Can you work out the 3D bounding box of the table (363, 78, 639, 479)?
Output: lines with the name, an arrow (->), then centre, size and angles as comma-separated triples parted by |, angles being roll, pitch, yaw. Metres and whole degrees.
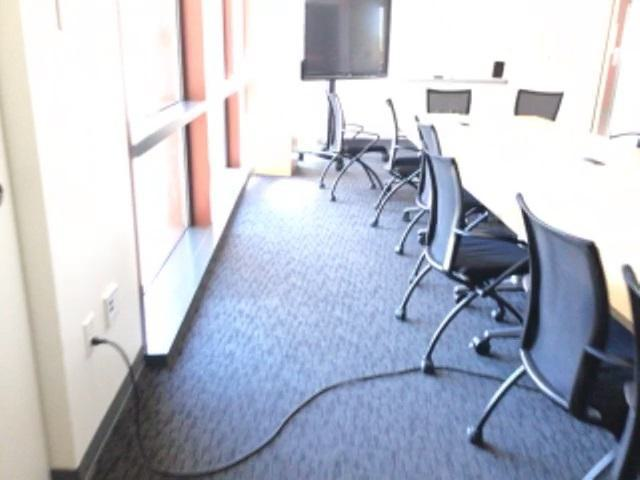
table -> 1.250, 0.180, 2.410 | 1.570, 0.870, 6.660 | 6, 21, -2
